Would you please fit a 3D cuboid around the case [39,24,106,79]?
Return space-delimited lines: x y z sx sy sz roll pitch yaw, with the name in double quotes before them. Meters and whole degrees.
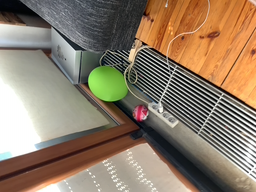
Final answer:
"case" -0.440 -0.350 1.630 0.500 0.240 0.230 36 120 34
